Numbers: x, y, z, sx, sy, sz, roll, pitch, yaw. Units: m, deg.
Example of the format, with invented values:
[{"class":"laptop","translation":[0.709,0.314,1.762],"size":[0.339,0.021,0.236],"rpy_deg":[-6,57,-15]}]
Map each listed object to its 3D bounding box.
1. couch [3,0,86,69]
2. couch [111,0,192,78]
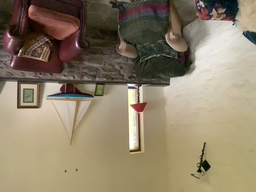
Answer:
[{"class":"couch","translation":[-0.990,-0.810,2.460],"size":[0.690,0.800,0.840],"rpy_deg":[2,175,-37]},{"class":"couch","translation":[0.370,-0.770,2.940],"size":[0.820,0.860,0.970],"rpy_deg":[-3,176,26]}]
